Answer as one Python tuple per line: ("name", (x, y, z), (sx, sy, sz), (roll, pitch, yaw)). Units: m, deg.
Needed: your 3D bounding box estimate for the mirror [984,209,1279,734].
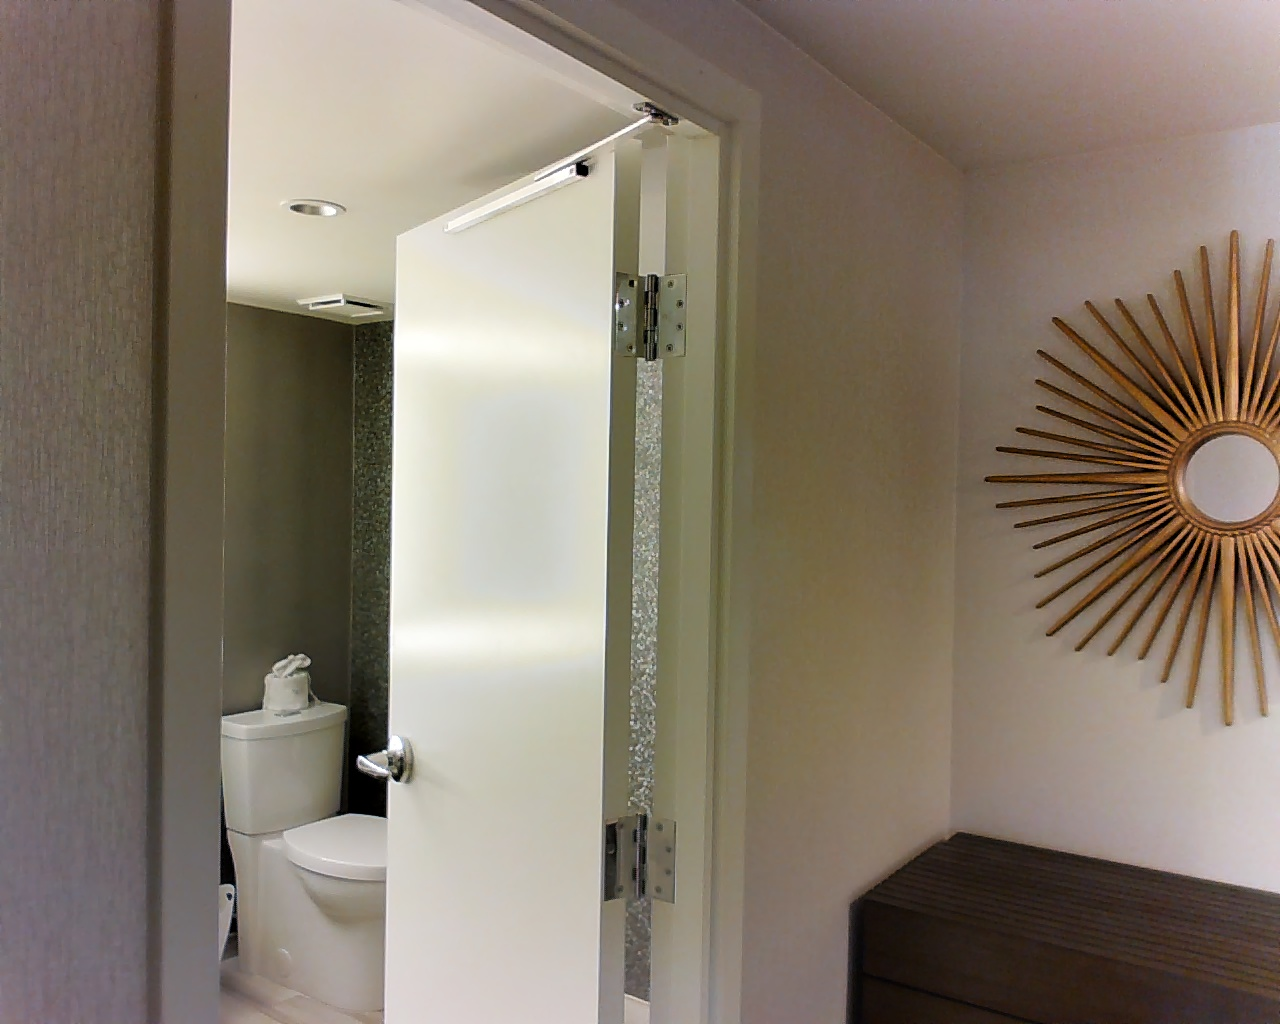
("mirror", (1.070, -0.070, 1.880), (0.890, 0.890, 0.070), (3, 3, 36))
